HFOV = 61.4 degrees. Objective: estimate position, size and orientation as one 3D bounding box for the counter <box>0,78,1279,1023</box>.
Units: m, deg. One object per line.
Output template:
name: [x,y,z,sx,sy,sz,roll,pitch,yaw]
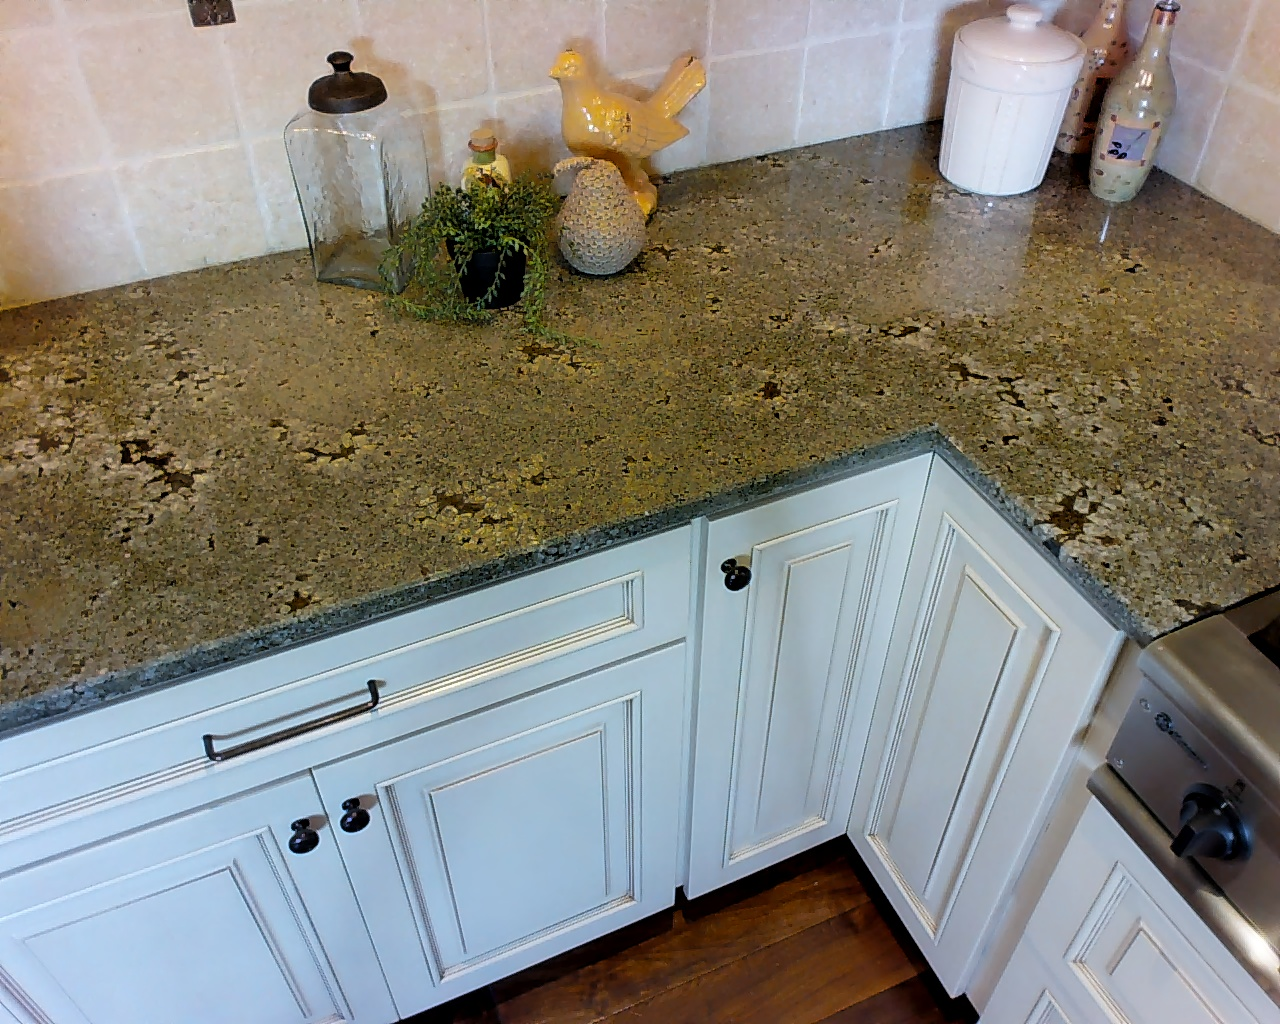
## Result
counter: [0.370,0.370,0.620,1.750,0.090,2.540,-17,45,-17]
